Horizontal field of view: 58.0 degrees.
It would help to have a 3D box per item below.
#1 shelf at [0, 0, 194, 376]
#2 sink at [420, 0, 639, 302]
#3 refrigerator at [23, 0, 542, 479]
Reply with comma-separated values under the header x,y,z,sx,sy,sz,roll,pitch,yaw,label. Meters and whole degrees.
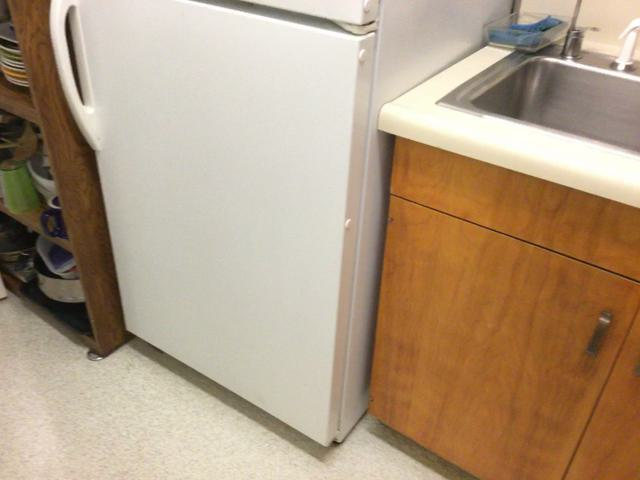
x,y,z,sx,sy,sz,roll,pitch,yaw,label
-0.830,-0.450,1.530,0.800,1.520,0.350,23,41,28,shelf
0.700,-0.160,1.020,0.830,0.330,0.570,23,41,28,sink
-0.030,-0.360,1.410,0.770,1.560,0.880,23,41,28,refrigerator
